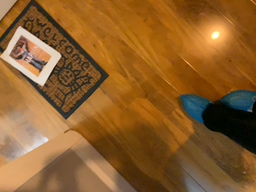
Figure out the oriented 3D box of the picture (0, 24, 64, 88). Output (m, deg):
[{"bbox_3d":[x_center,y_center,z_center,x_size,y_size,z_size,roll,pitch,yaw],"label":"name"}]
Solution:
[{"bbox_3d":[-0.540,-0.220,1.180,0.300,0.020,0.230,33,98,3],"label":"picture"}]
